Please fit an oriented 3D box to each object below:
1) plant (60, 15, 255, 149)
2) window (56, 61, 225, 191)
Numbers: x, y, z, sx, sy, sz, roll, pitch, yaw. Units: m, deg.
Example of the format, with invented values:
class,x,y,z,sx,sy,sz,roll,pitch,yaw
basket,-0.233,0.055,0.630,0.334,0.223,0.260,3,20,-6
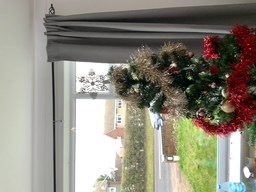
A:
class,x,y,z,sx,sy,sz,roll,pitch,yaw
plant,0.580,-0.060,1.320,0.660,1.790,0.610,-149,59,-89
window,0.110,0.740,1.980,0.120,1.520,2.100,-175,86,-89
